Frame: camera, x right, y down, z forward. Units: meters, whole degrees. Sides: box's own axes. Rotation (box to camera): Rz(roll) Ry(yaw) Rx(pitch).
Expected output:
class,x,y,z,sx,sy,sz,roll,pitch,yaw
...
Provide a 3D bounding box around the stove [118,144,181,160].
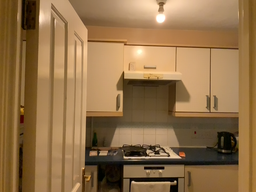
class,x,y,z,sx,sy,sz,roll,pitch,yaw
stove,0.200,0.600,2.300,0.580,0.030,0.550,1,-1,-6
